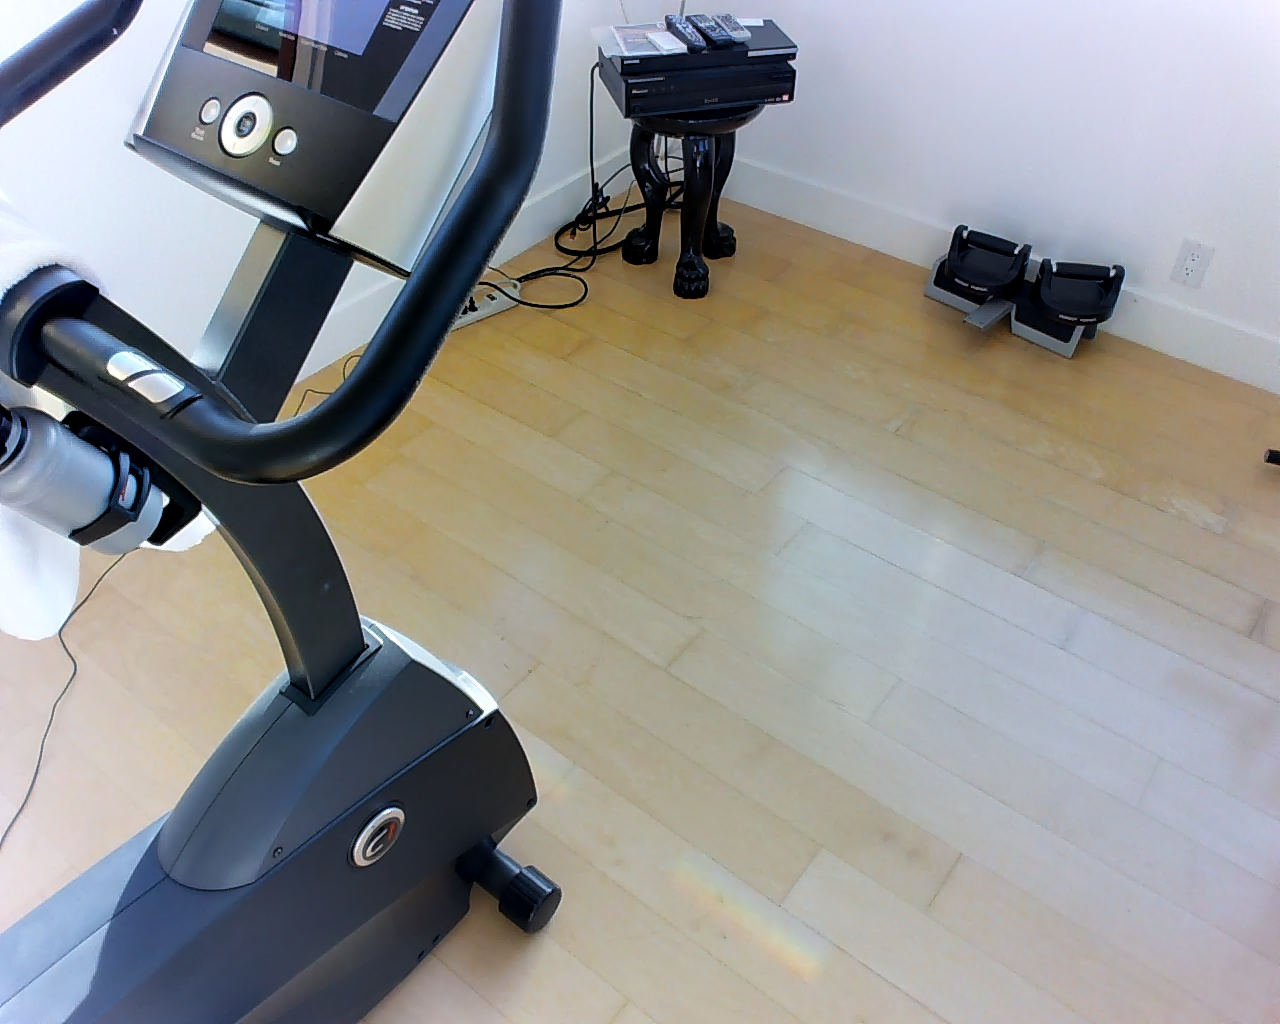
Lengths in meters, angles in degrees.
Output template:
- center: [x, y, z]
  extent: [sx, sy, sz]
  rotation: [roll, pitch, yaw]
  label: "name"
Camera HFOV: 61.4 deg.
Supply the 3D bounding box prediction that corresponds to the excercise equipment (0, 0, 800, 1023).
- center: [-0.550, 0.270, 0.940]
  extent: [0.680, 1.480, 1.230]
  rotation: [29, 49, 26]
  label: "excercise equipment"
